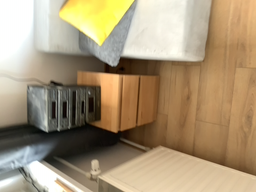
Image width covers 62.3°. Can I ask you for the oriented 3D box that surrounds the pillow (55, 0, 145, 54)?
[{"bbox_3d":[-0.160,-0.540,1.220,0.470,0.160,0.430,38,99,41],"label":"pillow"}]
